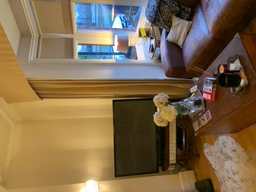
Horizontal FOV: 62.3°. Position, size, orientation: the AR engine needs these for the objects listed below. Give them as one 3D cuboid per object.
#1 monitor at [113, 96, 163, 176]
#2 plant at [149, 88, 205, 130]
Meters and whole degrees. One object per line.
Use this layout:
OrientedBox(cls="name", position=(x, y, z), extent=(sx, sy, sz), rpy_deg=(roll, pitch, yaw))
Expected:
OrientedBox(cls="monitor", position=(0.150, 0.610, 3.240), extent=(0.070, 0.760, 1.200), rpy_deg=(-147, 56, -76))
OrientedBox(cls="plant", position=(0.500, 0.140, 2.260), extent=(0.340, 0.430, 0.330), rpy_deg=(110, 157, -62))
